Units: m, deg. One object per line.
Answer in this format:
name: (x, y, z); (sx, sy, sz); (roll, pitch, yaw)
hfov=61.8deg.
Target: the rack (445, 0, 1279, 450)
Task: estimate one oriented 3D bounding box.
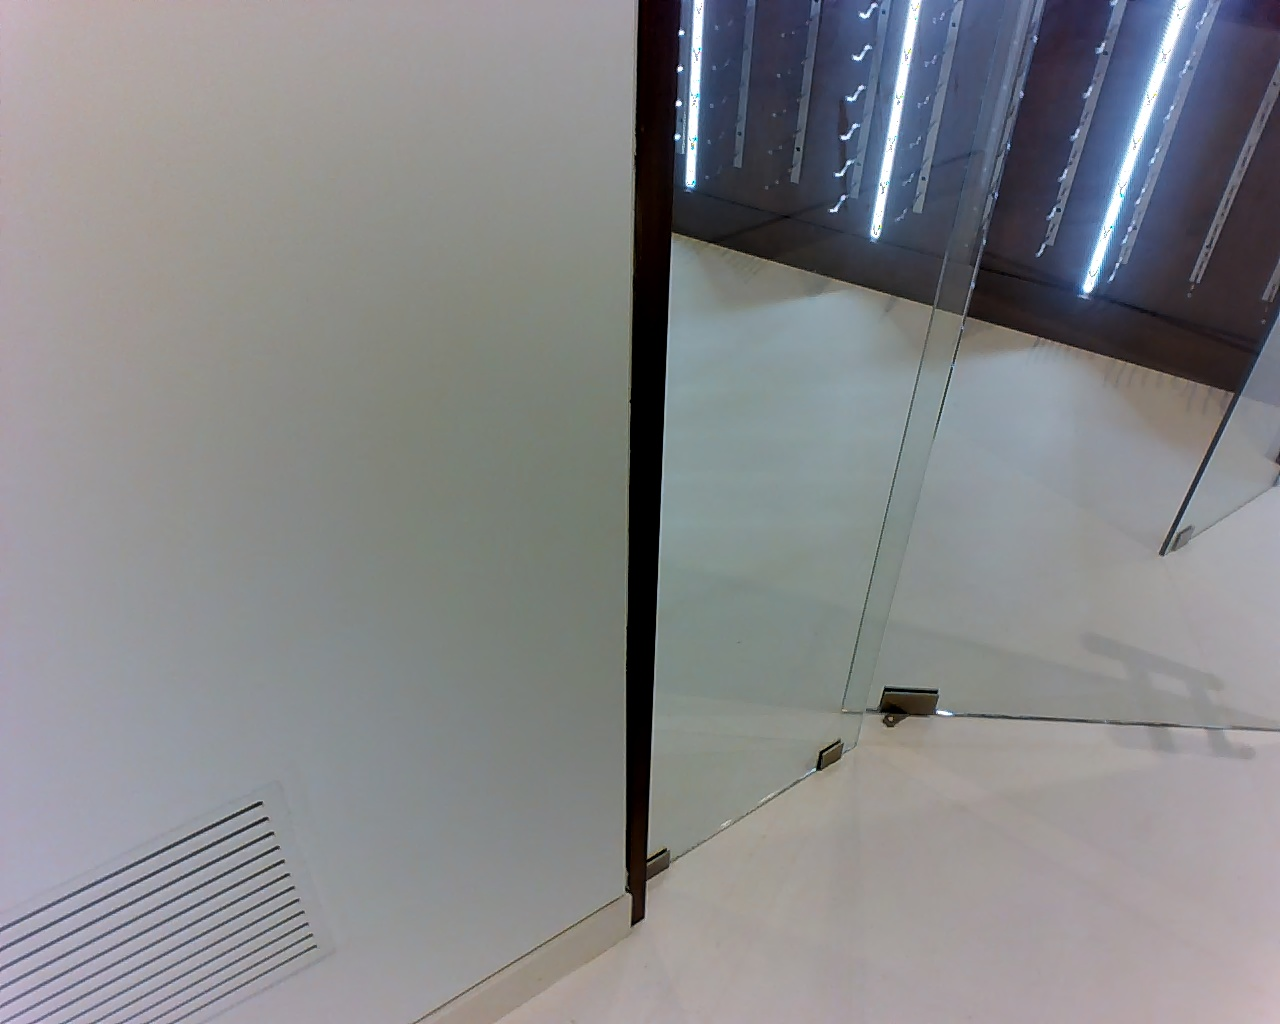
rack: (0.620, -1.610, 2.390); (2.720, 2.570, 0.180); (23, 47, 22)
